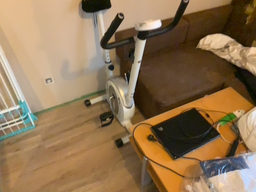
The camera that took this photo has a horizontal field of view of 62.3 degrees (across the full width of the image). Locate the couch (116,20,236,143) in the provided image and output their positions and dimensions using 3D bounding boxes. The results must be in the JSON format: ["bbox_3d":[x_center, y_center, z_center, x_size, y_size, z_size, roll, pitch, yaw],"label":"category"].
[{"bbox_3d":[0.340,-0.170,1.940,0.620,0.640,0.790,-19,48,-19],"label":"couch"}]

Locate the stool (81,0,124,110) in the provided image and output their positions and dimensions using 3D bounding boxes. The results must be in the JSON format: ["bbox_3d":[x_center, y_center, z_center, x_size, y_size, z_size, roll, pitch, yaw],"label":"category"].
[{"bbox_3d":[-0.190,-0.320,1.820,0.230,0.970,0.240,-18,47,-19],"label":"stool"}]
